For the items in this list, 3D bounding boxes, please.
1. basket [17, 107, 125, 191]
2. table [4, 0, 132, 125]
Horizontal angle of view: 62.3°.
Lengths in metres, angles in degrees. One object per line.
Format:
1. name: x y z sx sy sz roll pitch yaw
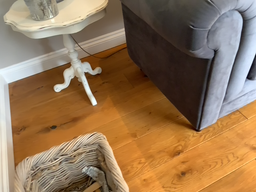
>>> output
1. basket: -0.190 0.330 0.830 0.280 0.410 0.310 -20 47 -12
2. table: -0.330 -0.280 1.270 0.490 0.590 0.500 -22 47 -15
